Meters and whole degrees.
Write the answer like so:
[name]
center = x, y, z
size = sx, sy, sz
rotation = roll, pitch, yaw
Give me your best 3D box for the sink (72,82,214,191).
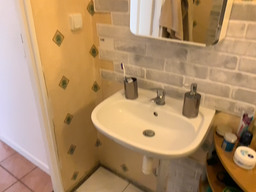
[sink]
center = 0.080, 0.150, 1.080
size = 0.550, 0.170, 0.430
rotation = 19, 34, 28
